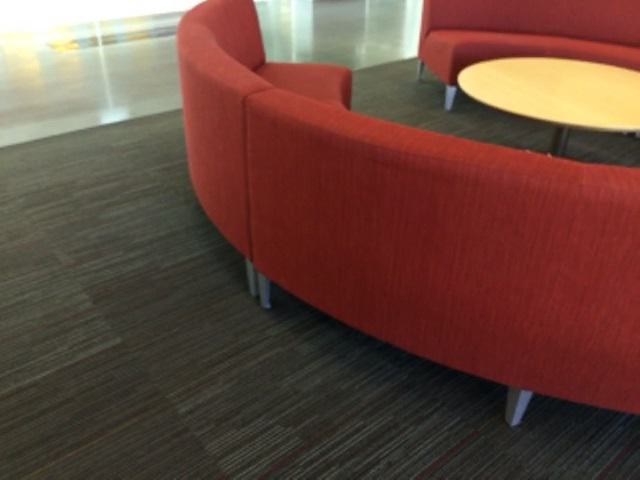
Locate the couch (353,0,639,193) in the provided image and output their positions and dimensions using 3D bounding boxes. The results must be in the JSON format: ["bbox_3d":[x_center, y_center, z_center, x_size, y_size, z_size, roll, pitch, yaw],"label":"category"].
[{"bbox_3d":[1.680,-0.980,3.160,1.300,0.810,2.940,-24,40,-34],"label":"couch"}]

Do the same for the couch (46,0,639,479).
[{"bbox_3d":[0.190,-0.310,2.140,1.200,0.770,2.950,-23,40,-33],"label":"couch"}]
